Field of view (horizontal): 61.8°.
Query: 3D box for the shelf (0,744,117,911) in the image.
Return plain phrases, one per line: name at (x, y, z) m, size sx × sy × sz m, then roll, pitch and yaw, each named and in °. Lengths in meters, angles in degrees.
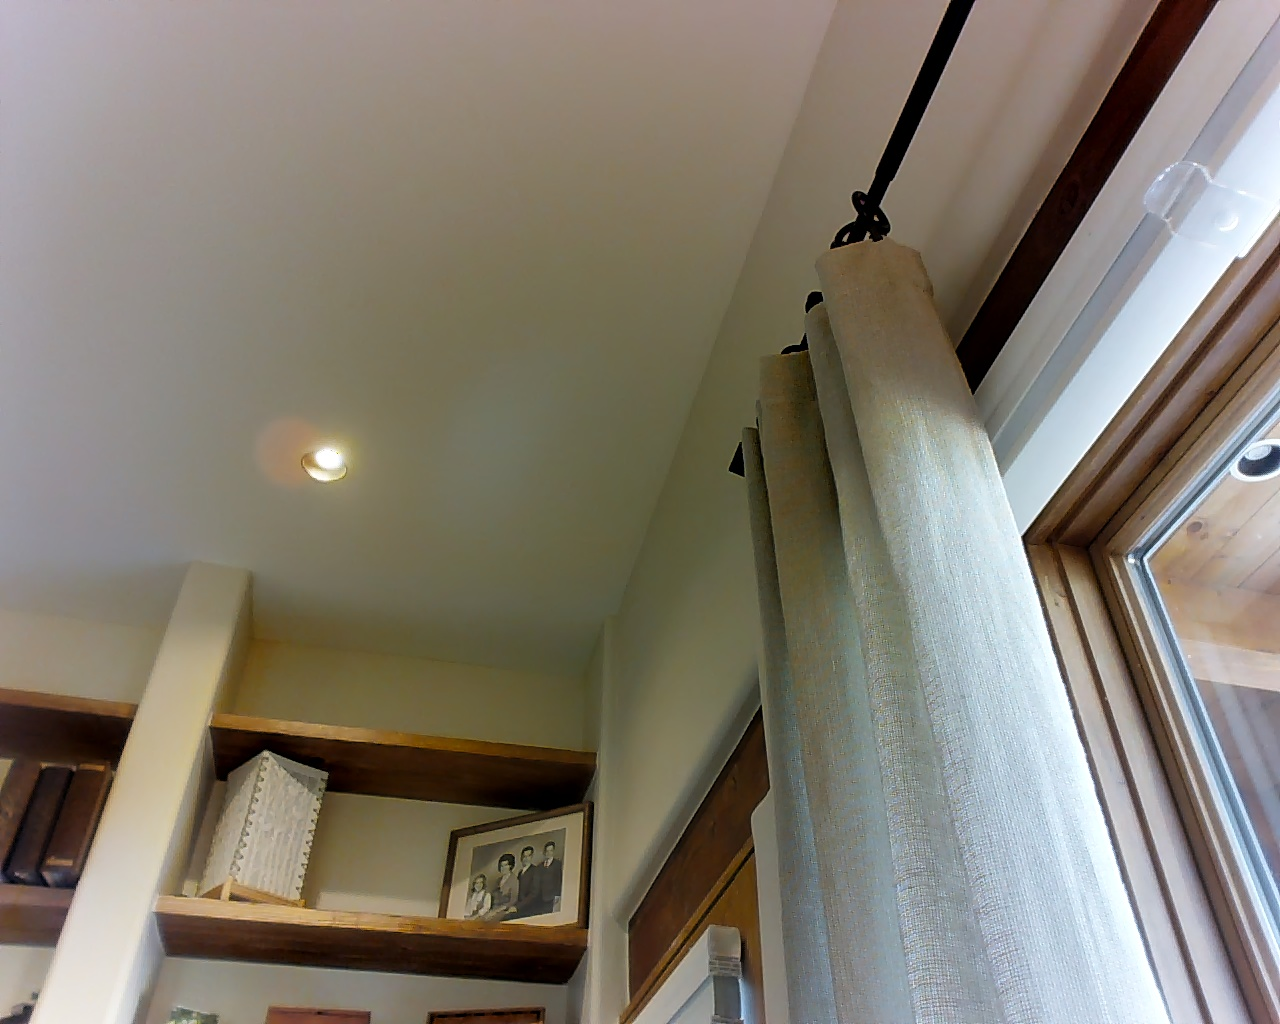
shelf at (-1.269, 0.610, 2.100) m, size 0.360 × 0.270 × 0.130 m, roll 9°, pitch -42°, yaw -10°
